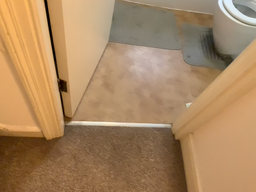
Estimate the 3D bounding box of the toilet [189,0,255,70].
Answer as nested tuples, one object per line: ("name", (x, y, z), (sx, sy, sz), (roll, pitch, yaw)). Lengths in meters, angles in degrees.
("toilet", (0.980, -0.630, 1.530), (0.660, 0.880, 0.410), (3, 60, -12))
